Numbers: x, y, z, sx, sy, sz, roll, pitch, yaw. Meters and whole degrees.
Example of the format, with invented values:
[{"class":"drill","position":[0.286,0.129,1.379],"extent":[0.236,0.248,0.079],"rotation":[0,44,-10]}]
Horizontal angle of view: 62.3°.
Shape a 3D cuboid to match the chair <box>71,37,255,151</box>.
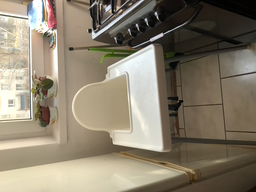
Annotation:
[{"class":"chair","position":[0.210,0.010,1.190],"extent":[0.560,0.880,0.390],"rotation":[-10,82,57]}]
